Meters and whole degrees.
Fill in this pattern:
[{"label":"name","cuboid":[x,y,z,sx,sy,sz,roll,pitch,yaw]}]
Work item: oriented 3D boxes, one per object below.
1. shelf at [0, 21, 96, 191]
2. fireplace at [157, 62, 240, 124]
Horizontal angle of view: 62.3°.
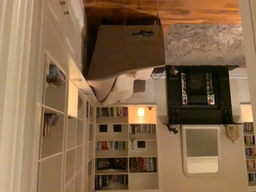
[{"label":"shelf","cuboid":[-0.840,0.830,2.900,0.380,1.860,3.960,1,171,-3]},{"label":"fireplace","cuboid":[1.590,-0.040,4.970,1.690,1.350,0.540,1,171,-2]}]
